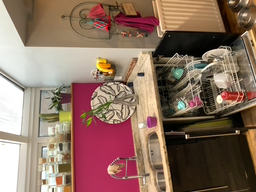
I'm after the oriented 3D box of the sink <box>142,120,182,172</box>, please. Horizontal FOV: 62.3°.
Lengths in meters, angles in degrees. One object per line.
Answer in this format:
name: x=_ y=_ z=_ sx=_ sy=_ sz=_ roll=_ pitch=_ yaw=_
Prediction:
sink: x=0.310 y=0.510 z=2.090 sx=0.490 sy=0.170 sz=0.430 roll=122 pitch=144 yaw=-67
